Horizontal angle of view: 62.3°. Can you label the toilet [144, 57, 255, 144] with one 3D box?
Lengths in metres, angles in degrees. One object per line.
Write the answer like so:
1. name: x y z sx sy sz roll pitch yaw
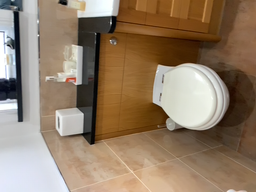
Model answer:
1. toilet: 0.480 -0.020 1.400 0.550 0.470 0.380 28 116 53
